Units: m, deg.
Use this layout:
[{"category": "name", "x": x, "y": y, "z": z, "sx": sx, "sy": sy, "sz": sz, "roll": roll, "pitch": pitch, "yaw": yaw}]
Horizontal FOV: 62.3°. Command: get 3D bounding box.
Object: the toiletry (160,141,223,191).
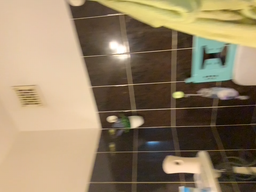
[{"category": "toiletry", "x": 0.290, "y": 0.470, "z": 0.950, "sx": 0.610, "sy": 0.250, "sz": 0.100, "roll": -84, "pitch": -11, "yaw": -54}]
